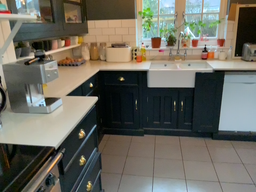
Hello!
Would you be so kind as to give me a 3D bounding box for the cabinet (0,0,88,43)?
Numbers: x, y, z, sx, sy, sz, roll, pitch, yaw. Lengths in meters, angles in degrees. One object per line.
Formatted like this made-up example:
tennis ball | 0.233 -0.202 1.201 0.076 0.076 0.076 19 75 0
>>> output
cabinet | -0.890 -1.210 2.190 0.290 1.140 1.720 2 19 9
